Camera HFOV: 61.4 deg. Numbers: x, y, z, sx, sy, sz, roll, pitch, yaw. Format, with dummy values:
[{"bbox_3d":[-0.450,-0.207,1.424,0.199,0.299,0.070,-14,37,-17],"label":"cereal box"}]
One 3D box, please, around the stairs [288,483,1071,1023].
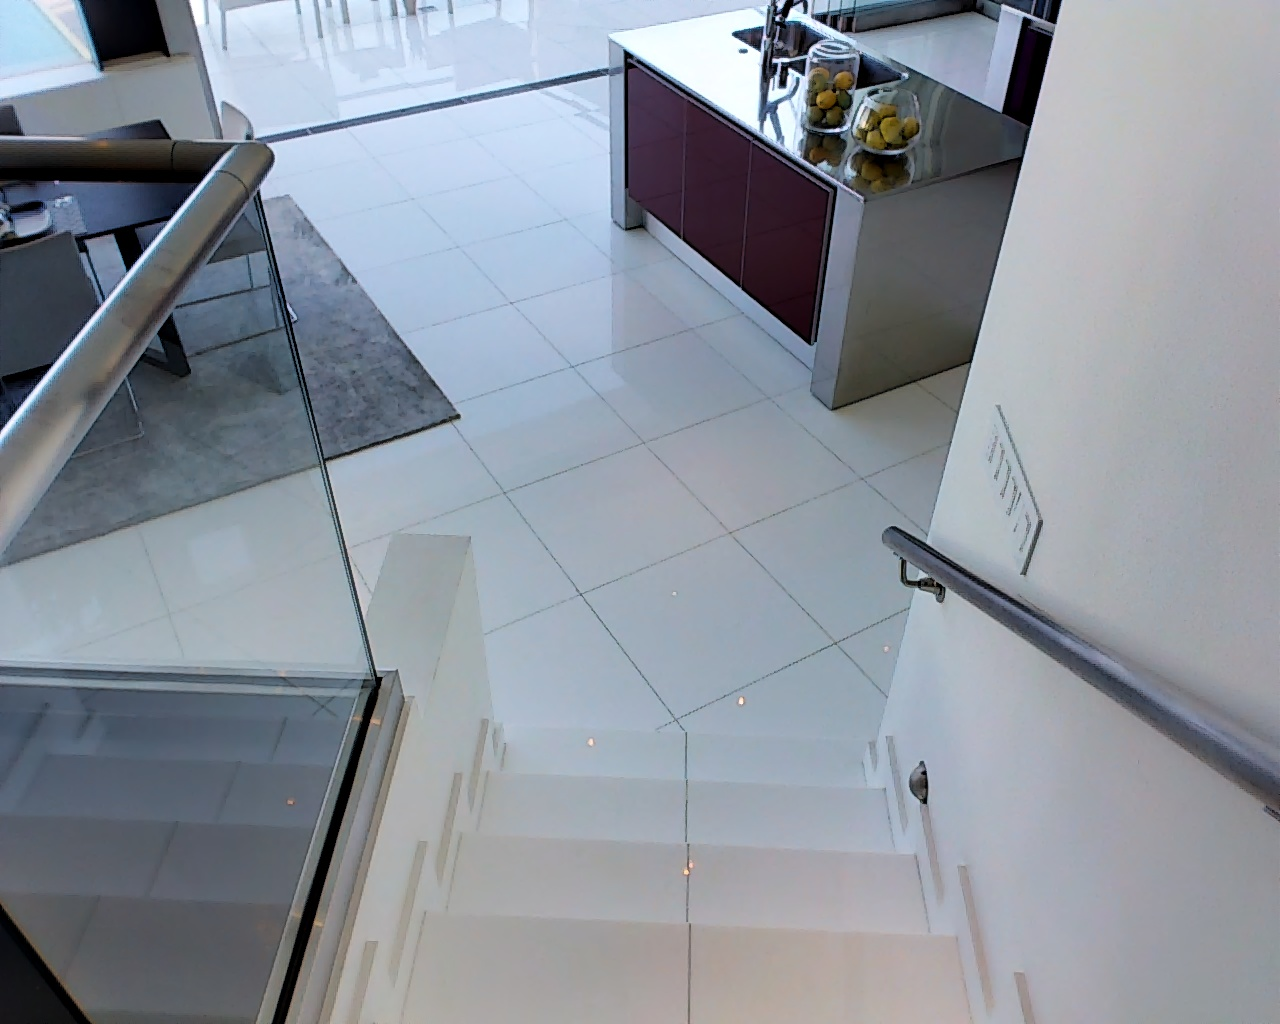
[{"bbox_3d":[0.070,0.780,2.270,1.120,1.030,1.350,1,41,1],"label":"stairs"}]
